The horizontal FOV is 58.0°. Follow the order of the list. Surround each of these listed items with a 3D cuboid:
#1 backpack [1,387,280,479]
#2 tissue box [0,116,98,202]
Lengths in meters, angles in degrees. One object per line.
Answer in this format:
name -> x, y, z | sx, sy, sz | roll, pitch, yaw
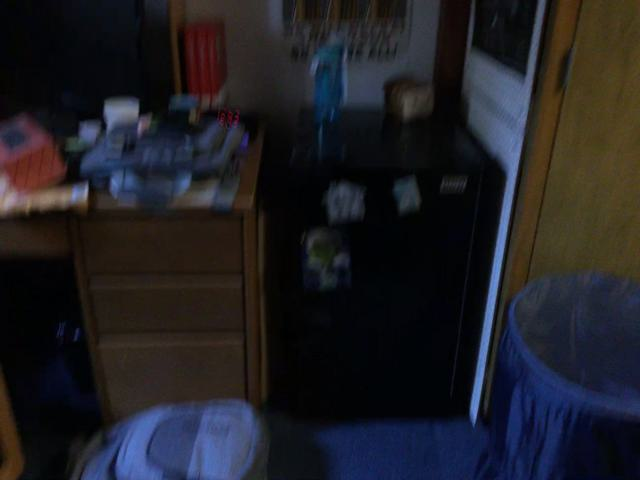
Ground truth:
backpack -> -0.420, 0.580, 1.450 | 0.600, 0.210, 0.350 | -3, 25, 1
tissue box -> -0.710, -0.200, 1.390 | 0.230, 0.120, 0.290 | -3, 25, 1
